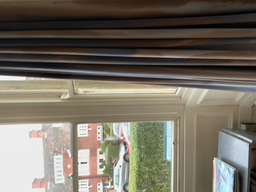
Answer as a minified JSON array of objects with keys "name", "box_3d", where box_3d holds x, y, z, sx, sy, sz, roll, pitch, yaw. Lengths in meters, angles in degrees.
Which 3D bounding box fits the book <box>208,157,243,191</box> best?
[{"name":"book","box_3d":[0.760,0.720,1.680,0.310,0.080,0.360,-152,61,-79]}]
